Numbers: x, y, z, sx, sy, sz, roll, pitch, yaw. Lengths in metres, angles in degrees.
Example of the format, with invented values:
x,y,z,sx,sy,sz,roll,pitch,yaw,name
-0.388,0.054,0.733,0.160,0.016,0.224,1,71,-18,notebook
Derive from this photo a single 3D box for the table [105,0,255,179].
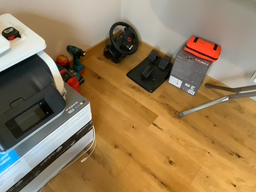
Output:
x,y,z,sx,sy,sz,roll,pitch,yaw,name
0.590,-0.140,1.200,1.600,0.910,0.400,35,56,22,table
